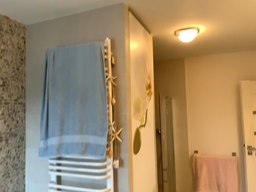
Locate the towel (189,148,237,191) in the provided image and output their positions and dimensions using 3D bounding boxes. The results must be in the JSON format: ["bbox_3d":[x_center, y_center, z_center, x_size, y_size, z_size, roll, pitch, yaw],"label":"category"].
[{"bbox_3d":[1.250,1.210,3.150,0.630,0.790,0.190,-2,-4,23],"label":"towel"}]
